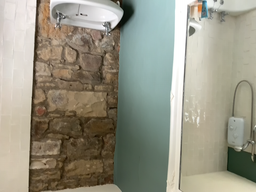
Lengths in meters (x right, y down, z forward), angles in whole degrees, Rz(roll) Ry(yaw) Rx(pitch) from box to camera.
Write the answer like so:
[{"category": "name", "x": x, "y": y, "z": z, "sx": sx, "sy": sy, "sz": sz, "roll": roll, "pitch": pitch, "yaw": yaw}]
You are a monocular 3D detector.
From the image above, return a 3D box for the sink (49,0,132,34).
[{"category": "sink", "x": -0.330, "y": -0.740, "z": 1.820, "sx": 0.630, "sy": 0.240, "sz": 0.350, "roll": 2, "pitch": -179, "yaw": -22}]
